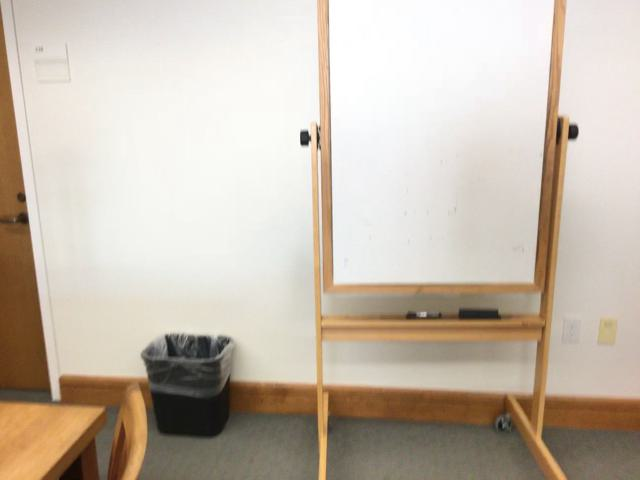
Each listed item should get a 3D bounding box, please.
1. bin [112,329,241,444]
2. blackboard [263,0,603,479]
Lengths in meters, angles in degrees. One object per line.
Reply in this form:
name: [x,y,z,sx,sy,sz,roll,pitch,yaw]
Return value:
bin: [-0.620,0.640,2.560,0.460,0.420,0.270,-2,9,6]
blackboard: [0.390,0.040,2.150,0.990,1.770,0.640,-2,9,6]
